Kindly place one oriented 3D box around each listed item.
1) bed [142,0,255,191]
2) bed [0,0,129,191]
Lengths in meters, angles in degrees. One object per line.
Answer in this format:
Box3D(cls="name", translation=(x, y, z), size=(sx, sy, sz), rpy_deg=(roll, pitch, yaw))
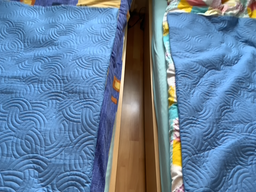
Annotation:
Box3D(cls="bed", translation=(0.610, -0.060, 1.390), size=(0.950, 0.580, 2.100), rpy_deg=(5, 51, -2))
Box3D(cls="bed", translation=(-0.530, -0.190, 1.340), size=(0.980, 0.610, 2.070), rpy_deg=(5, 51, -2))
